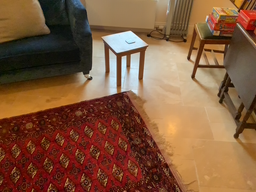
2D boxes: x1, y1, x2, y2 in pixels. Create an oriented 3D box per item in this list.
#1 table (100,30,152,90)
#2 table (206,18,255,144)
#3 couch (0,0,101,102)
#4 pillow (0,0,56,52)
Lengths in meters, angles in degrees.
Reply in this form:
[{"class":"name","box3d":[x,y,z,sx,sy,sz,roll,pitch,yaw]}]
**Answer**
[{"class":"table","box3d":[-0.030,-0.390,2.240,0.370,0.420,0.370,-26,48,-29]},{"class":"table","box3d":[0.990,-0.130,1.740,0.330,0.730,0.720,4,41,1]},{"class":"couch","box3d":[-1.050,-0.680,2.150,1.290,0.930,1.020,-12,43,-16]},{"class":"pillow","box3d":[-1.080,-0.800,1.960,0.590,0.510,0.320,-30,60,-18]}]
